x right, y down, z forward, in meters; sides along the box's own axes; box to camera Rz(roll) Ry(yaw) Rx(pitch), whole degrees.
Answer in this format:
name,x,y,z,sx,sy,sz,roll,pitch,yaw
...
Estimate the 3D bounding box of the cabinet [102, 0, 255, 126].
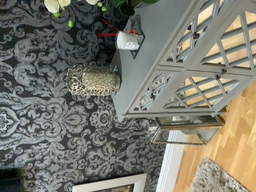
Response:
name,x,y,z,sx,sy,sz,roll,pitch,yaw
cabinet,0.390,-0.240,1.170,0.820,0.800,0.390,-60,39,44
